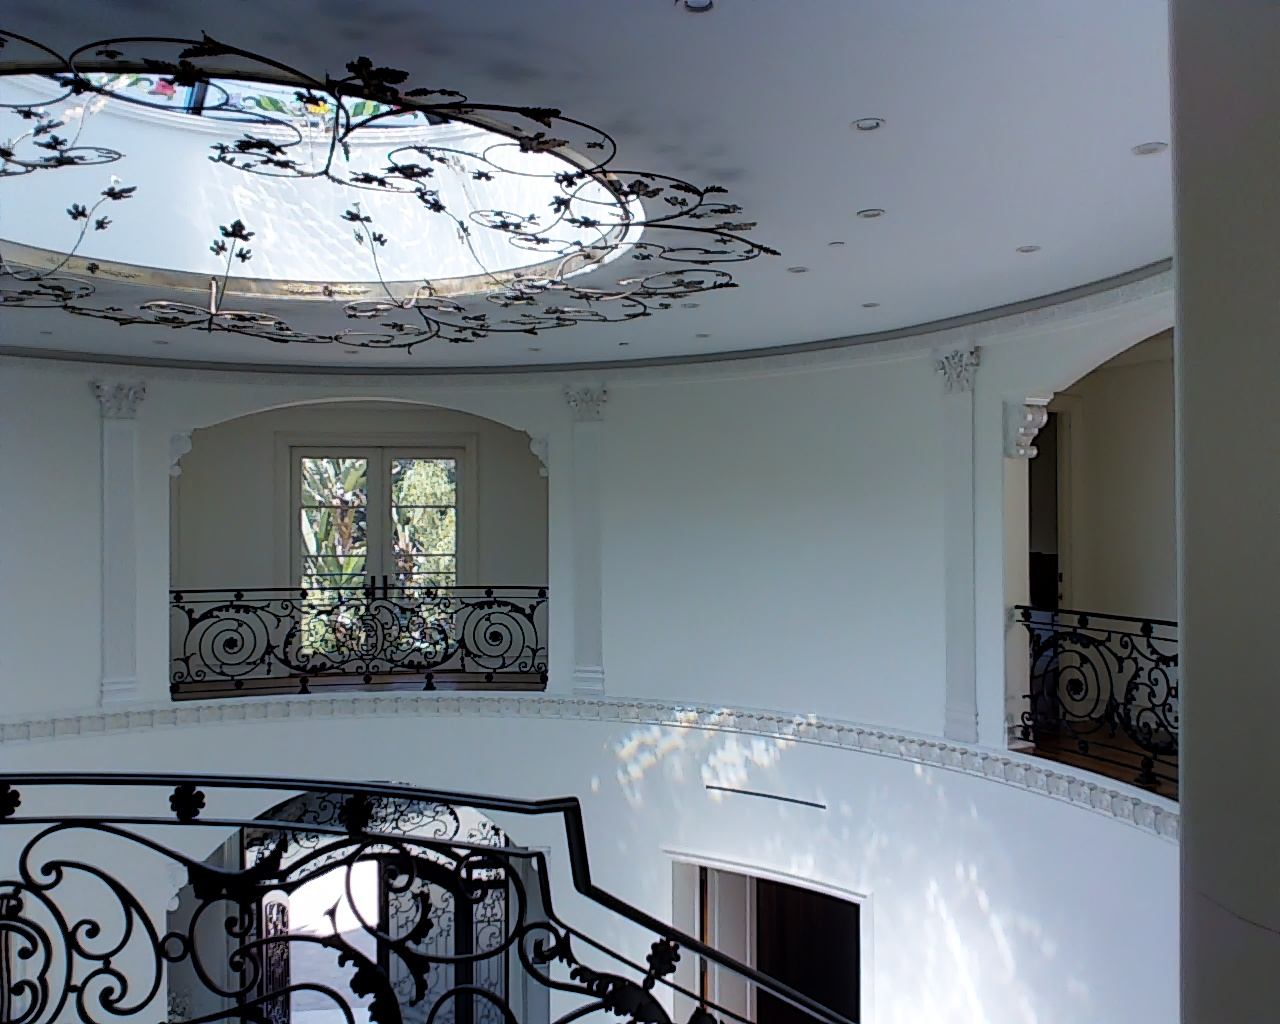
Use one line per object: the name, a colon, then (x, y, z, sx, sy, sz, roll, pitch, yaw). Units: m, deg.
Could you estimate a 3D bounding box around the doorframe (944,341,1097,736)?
doorframe: (2.949, 0.190, 8.260, 1.380, 2.851, 0.330, 0, 0, -33)
